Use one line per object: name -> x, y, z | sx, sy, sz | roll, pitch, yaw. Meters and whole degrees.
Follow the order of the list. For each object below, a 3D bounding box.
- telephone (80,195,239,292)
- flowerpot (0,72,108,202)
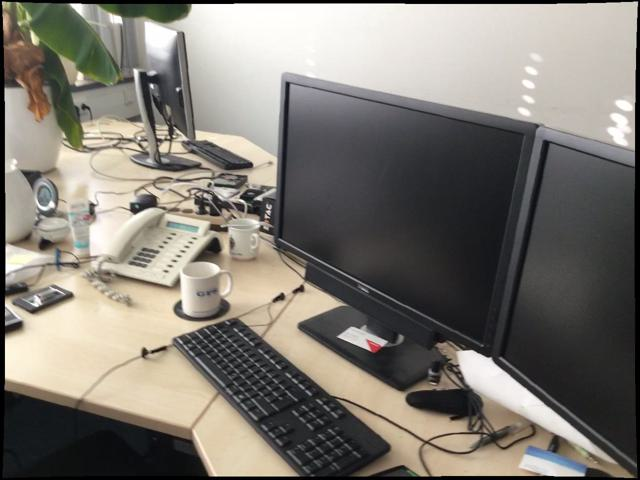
telephone -> -0.380, 0.000, 1.410 | 0.290, 0.110, 0.230 | 9, 25, 13
flowerpot -> -1.059, -0.380, 2.030 | 0.400, 0.320, 0.410 | 9, 25, 13
